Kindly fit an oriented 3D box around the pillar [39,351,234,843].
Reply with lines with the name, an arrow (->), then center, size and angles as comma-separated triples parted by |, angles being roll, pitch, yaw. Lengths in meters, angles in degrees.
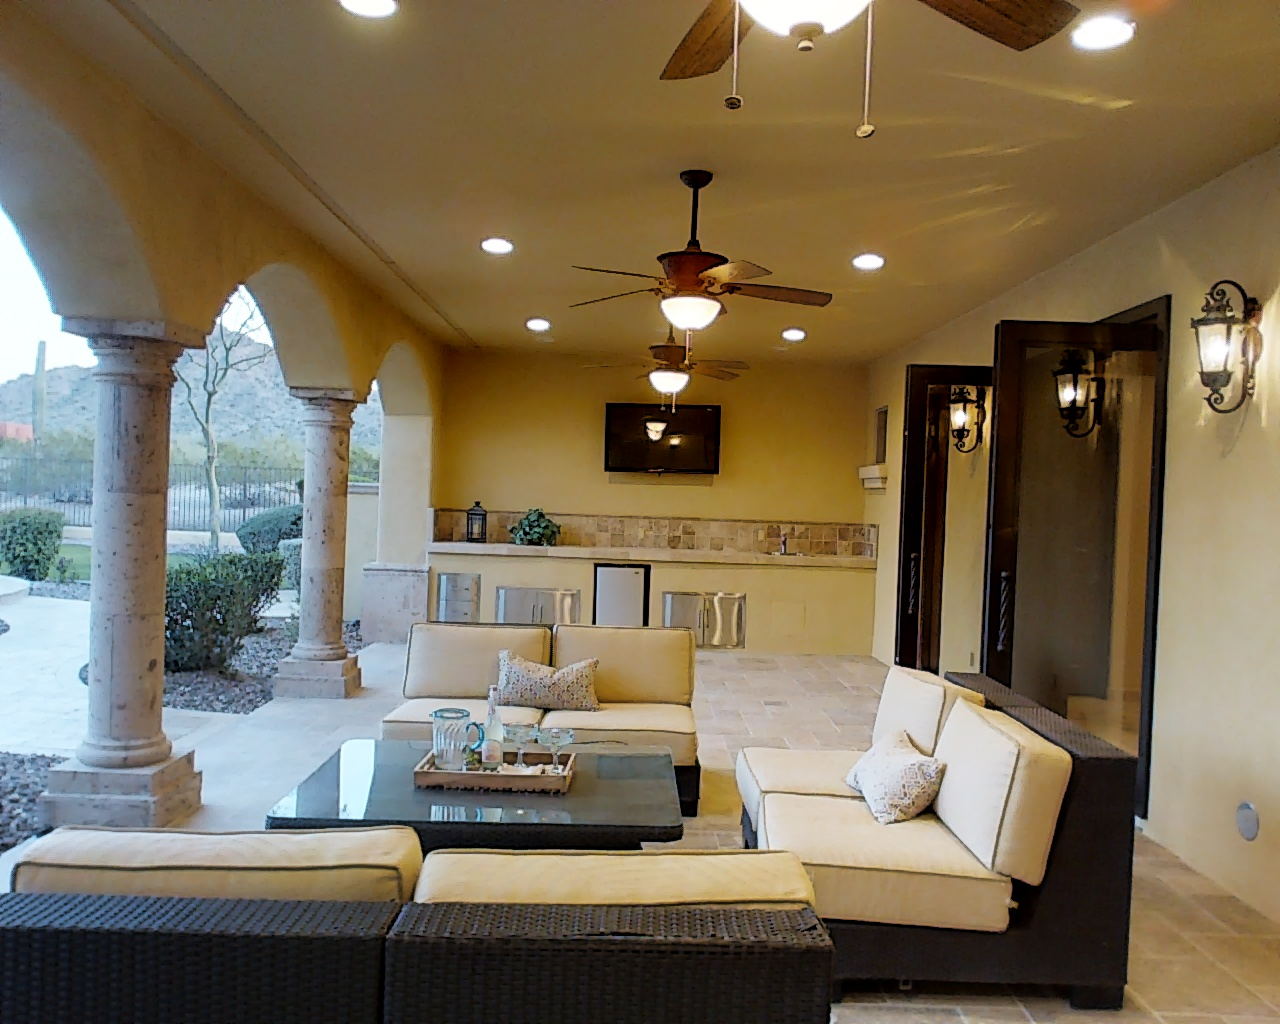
pillar -> -2.270, 0.360, 4.870 | 0.500, 2.070, 0.690 | 2, 1, 0
